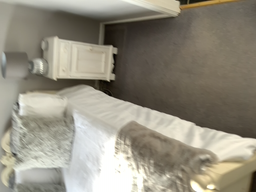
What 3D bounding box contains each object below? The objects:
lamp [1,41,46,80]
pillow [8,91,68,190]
[{"bbox_3d":[-1.050,-0.350,2.120,0.250,0.350,0.330,20,106,50],"label":"lamp"},{"bbox_3d":[-0.870,0.360,2.000,0.540,0.370,0.730,19,106,50],"label":"pillow"}]
